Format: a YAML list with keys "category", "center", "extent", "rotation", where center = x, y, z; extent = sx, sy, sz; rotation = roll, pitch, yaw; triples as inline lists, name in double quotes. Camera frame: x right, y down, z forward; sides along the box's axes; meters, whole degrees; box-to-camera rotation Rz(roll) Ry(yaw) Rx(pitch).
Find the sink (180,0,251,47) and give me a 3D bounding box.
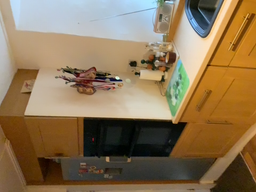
- category: "sink"
  center: [0.560, -0.630, 1.400]
  extent: [0.440, 0.200, 0.410]
  rotation: [-97, 14, -45]
